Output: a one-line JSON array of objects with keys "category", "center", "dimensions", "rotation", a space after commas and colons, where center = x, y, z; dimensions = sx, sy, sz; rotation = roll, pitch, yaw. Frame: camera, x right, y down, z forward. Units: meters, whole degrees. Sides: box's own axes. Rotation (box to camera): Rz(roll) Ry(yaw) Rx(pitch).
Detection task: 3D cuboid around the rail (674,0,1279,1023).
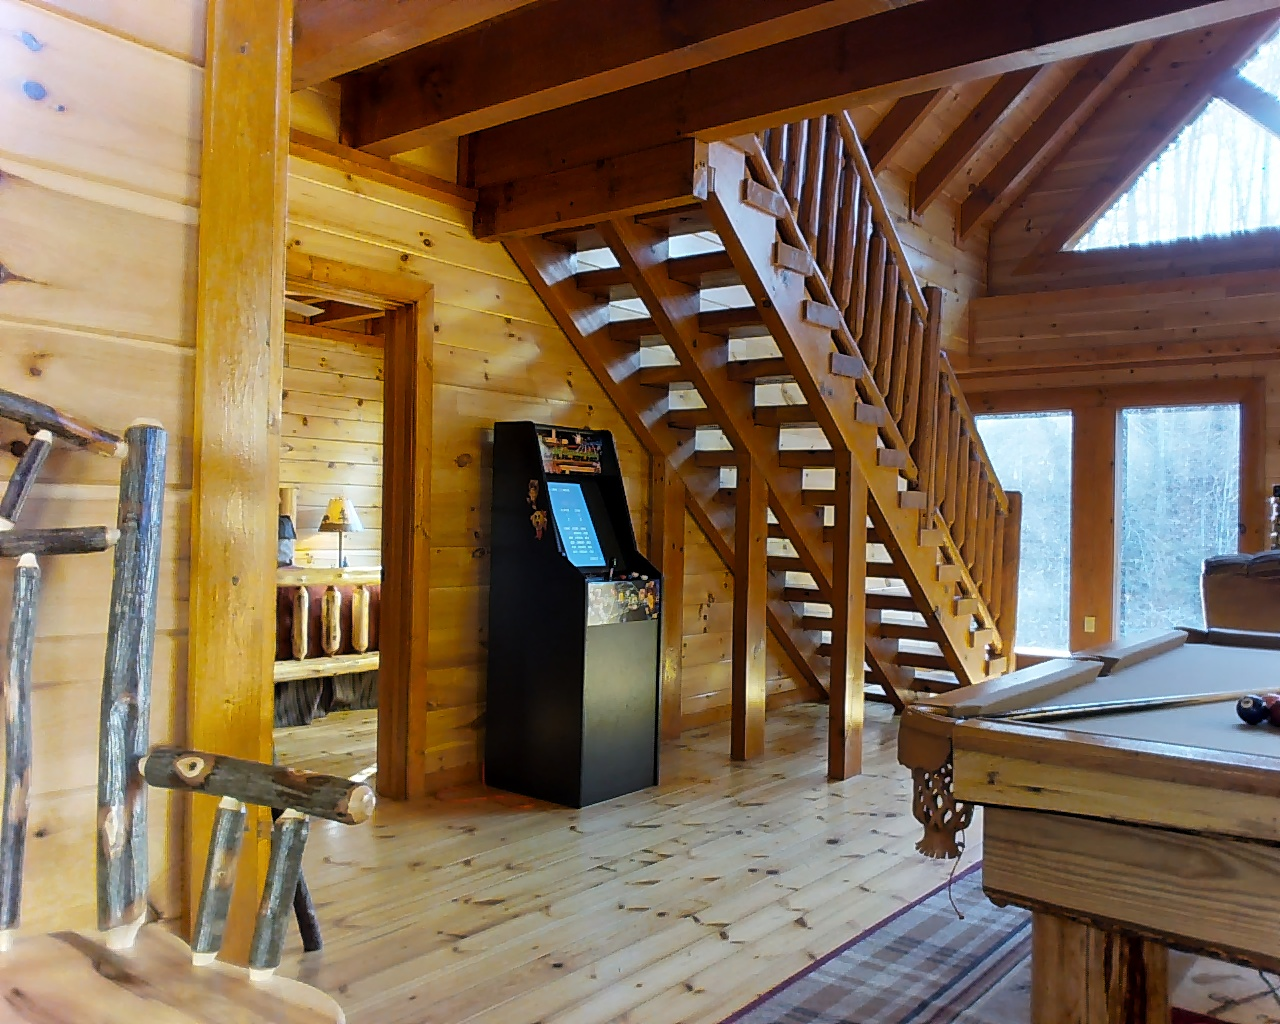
[{"category": "rail", "center": [1.470, -0.500, 3.140], "dimensions": [0.190, 3.481, 3.300], "rotation": [1, 36, 38]}]
